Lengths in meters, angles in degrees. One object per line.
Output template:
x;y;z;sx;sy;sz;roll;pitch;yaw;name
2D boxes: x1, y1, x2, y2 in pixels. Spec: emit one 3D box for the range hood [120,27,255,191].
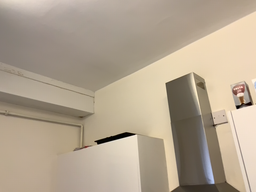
0.350;0.250;1.280;0.530;1.020;0.540;-21;-28;36;range hood
